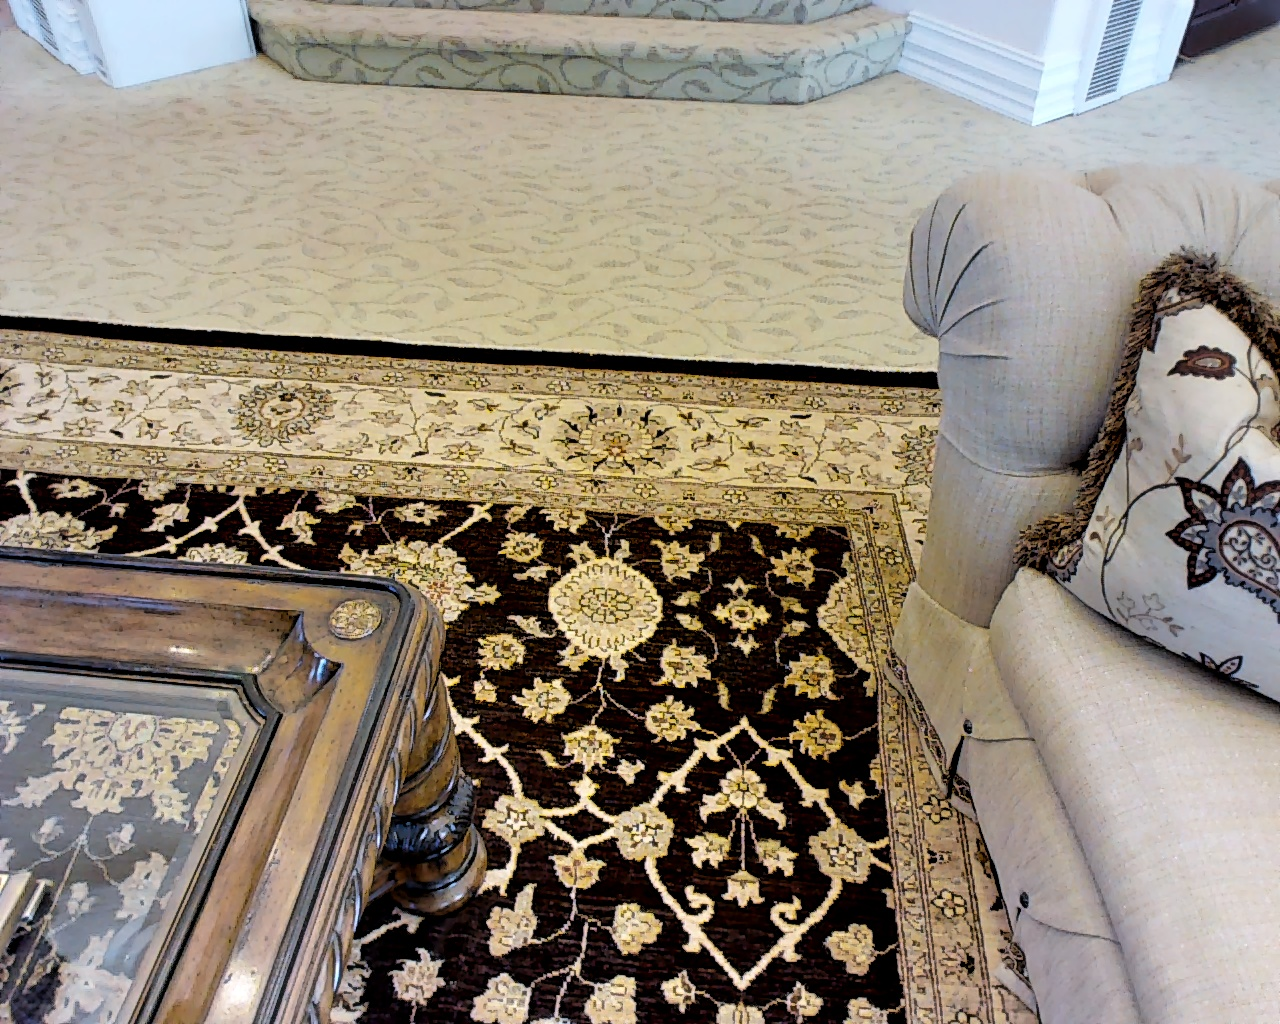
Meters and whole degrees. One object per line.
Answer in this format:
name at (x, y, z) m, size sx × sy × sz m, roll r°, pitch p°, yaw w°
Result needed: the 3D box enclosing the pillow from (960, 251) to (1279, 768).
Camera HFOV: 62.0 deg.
pillow at (0.680, -0.010, 1.220) m, size 0.300 × 0.350 × 0.450 m, roll -32°, pitch 51°, yaw -31°
